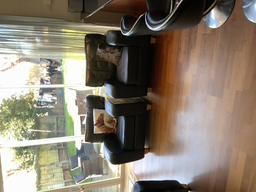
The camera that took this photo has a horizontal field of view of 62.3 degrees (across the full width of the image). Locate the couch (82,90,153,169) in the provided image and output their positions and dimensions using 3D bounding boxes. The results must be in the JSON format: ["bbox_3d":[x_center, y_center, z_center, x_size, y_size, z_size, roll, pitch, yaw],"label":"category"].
[{"bbox_3d":[-0.230,0.450,3.450,0.960,0.860,0.910,-147,58,-65],"label":"couch"}]

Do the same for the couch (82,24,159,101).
[{"bbox_3d":[-0.180,-0.520,3.240,0.930,0.870,0.950,-147,58,-65],"label":"couch"}]
